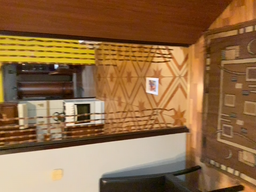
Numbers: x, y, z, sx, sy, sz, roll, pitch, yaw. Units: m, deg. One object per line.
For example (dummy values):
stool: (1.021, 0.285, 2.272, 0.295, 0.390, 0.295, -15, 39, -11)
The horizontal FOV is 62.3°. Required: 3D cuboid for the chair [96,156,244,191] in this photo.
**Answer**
chair: (0.290, 0.880, 1.680, 0.640, 0.940, 0.460, -168, 78, -66)
